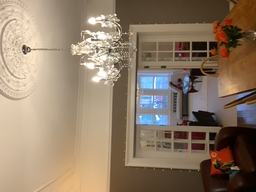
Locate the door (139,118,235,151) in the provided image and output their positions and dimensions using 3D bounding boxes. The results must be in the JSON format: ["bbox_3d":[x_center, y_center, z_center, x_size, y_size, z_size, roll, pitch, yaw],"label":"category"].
[{"bbox_3d":[1.150,0.760,4.260,0.150,1.850,0.580,52,-141,-83],"label":"door"}]
